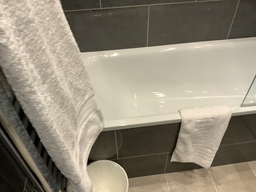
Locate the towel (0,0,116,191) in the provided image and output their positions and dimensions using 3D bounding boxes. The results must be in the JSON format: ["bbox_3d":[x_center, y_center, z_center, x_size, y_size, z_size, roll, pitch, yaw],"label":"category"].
[{"bbox_3d":[-0.150,-0.010,0.550,0.190,0.930,0.340,-4,44,-3],"label":"towel"}]

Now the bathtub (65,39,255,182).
[{"bbox_3d":[0.500,0.060,1.490,1.660,0.580,0.680,-4,44,-4],"label":"bathtub"}]

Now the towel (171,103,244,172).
[{"bbox_3d":[0.420,0.260,1.210,0.270,0.500,0.090,-5,44,-4],"label":"towel"}]
